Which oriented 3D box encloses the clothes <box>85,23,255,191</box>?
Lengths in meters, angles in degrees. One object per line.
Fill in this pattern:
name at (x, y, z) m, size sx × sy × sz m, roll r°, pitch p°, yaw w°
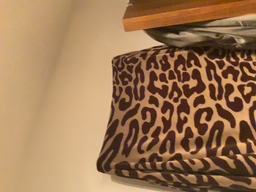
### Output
clothes at (0.480, 0.010, 0.700) m, size 0.150 × 1.160 × 0.590 m, roll 68°, pitch -157°, yaw -54°
